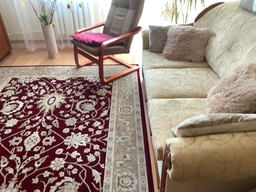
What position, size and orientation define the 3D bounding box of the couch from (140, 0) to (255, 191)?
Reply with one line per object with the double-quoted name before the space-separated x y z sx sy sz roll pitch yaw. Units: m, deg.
"couch" 0.660 -0.150 1.760 1.000 0.920 1.930 -1 35 0
